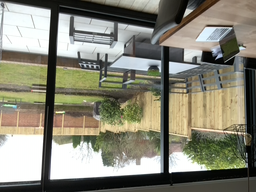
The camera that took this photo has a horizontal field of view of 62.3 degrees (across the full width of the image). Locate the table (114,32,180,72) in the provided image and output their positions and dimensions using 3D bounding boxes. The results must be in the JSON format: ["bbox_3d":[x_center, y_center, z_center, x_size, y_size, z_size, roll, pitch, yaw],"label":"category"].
[{"bbox_3d":[0.380,-0.890,4.550,1.180,0.520,0.790,3,175,-17],"label":"table"}]
